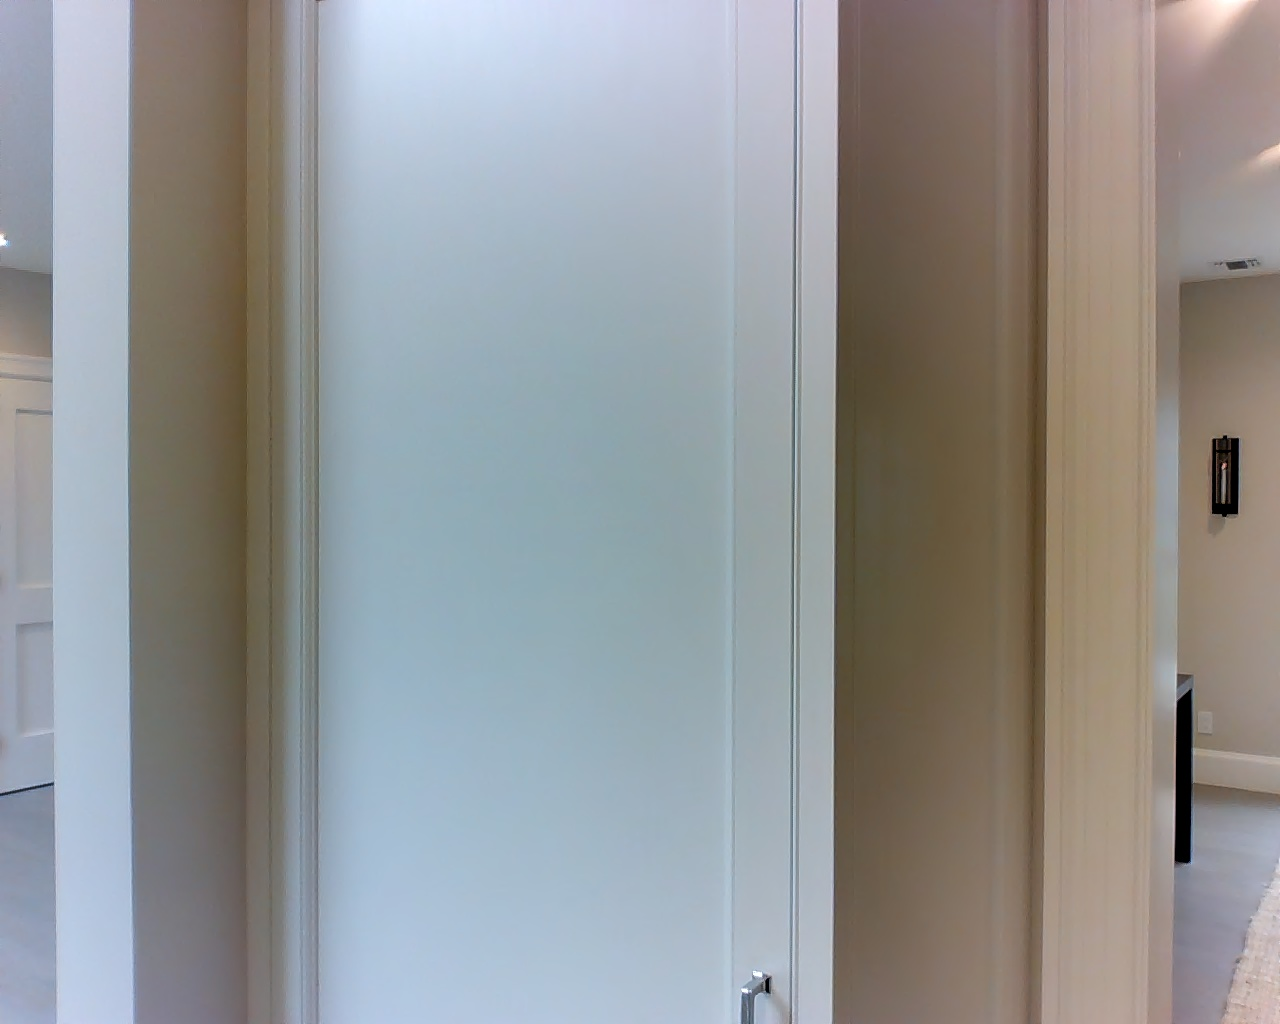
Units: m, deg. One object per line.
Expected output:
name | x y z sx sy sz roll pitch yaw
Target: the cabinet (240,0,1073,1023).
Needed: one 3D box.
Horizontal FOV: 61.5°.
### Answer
cabinet | 0.020 0.370 1.340 0.830 2.330 0.610 1 1 35
